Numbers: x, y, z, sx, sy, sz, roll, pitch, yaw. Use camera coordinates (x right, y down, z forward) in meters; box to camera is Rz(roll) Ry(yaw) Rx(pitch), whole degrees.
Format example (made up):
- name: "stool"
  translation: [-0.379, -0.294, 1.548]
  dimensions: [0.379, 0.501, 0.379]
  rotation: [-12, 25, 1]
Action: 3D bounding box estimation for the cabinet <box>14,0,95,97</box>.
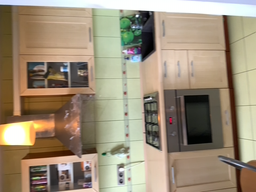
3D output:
- name: "cabinet"
  translation: [-0.770, -0.590, 2.300]
  dimensions: [0.320, 0.750, 1.170]
  rotation: [163, 105, -78]
